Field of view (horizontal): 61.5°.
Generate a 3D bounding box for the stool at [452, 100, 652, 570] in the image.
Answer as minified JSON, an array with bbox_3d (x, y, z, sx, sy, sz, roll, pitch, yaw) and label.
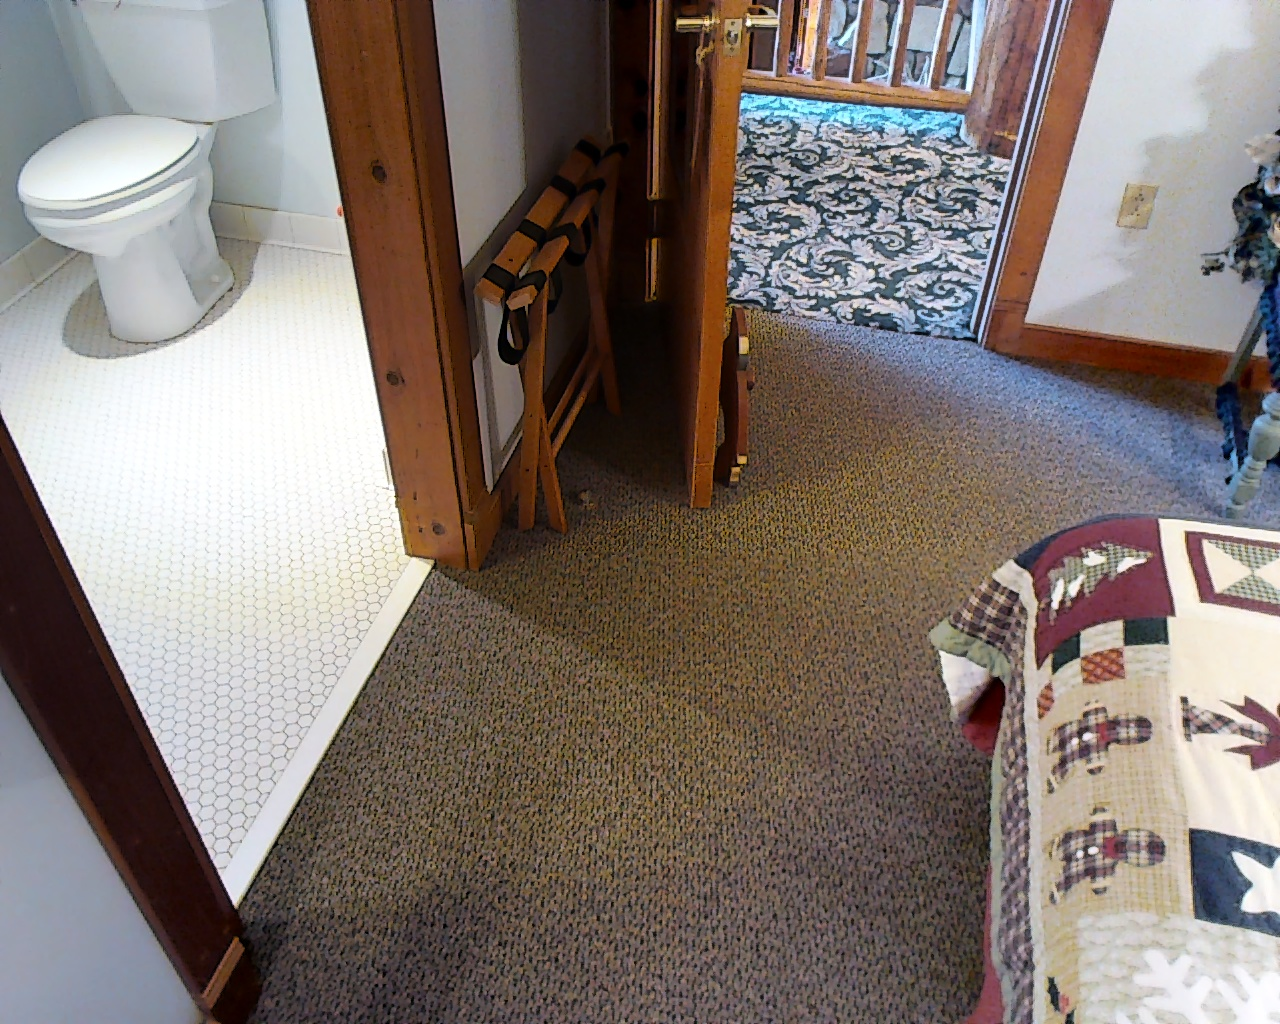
[{"bbox_3d":[-0.150,-0.390,2.320,0.160,0.700,0.740,11,43,11],"label":"stool"}]
